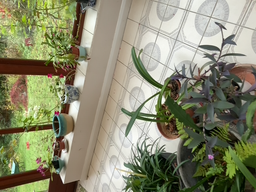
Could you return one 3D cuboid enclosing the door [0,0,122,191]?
[{"bbox_3d":[-1.670,1.090,2.560,0.170,2.290,5.770,42,124,45],"label":"door"}]
